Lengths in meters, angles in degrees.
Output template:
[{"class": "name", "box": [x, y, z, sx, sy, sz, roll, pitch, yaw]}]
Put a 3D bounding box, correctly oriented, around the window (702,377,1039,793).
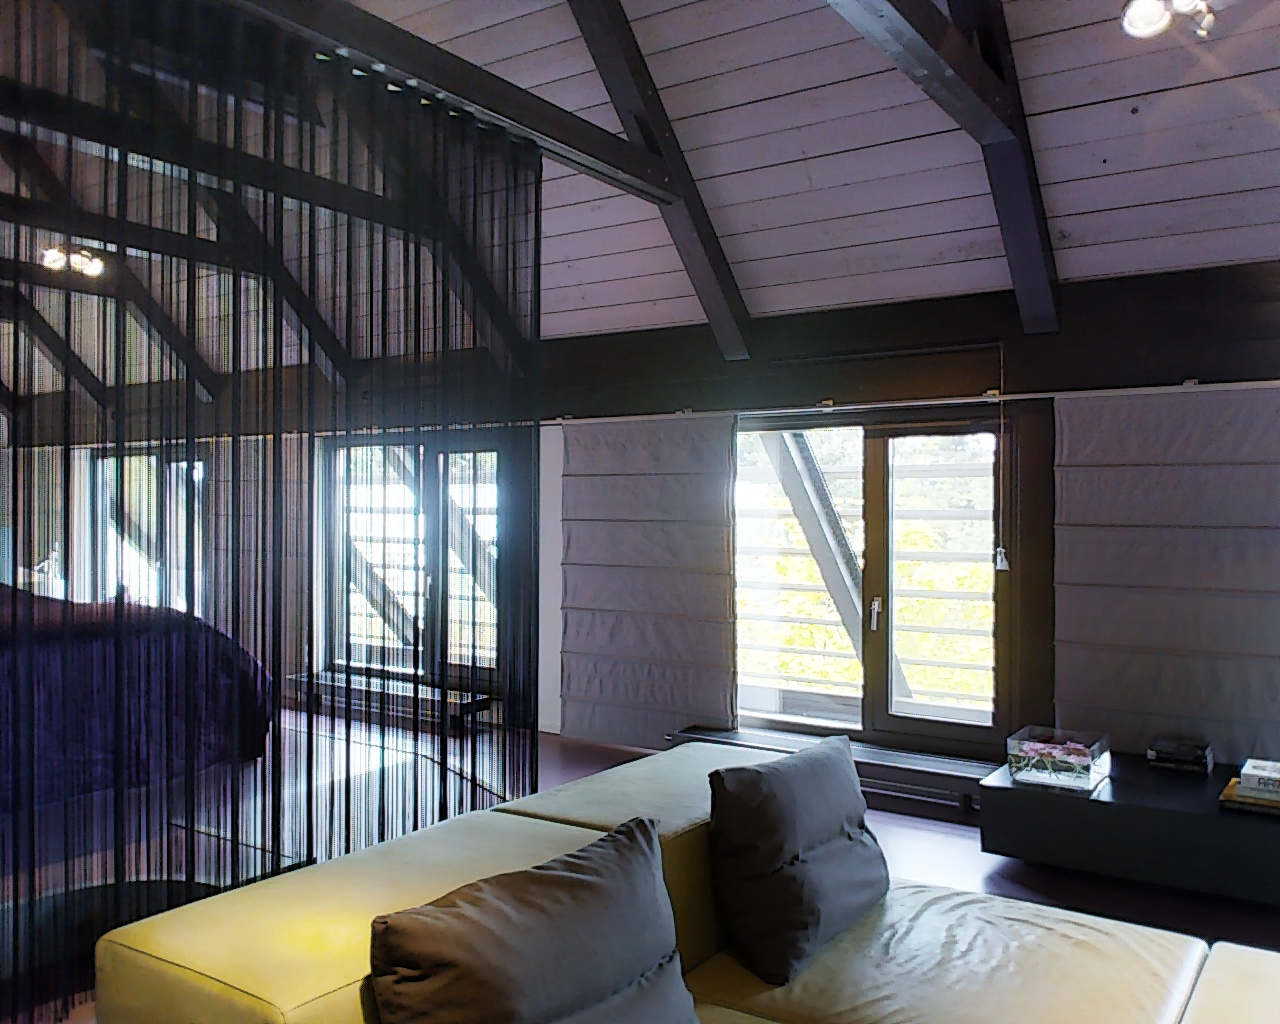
[{"class": "window", "box": [1.080, 0.310, 5.270, 1.590, 1.810, 0.330, 1, 0, 34]}]
